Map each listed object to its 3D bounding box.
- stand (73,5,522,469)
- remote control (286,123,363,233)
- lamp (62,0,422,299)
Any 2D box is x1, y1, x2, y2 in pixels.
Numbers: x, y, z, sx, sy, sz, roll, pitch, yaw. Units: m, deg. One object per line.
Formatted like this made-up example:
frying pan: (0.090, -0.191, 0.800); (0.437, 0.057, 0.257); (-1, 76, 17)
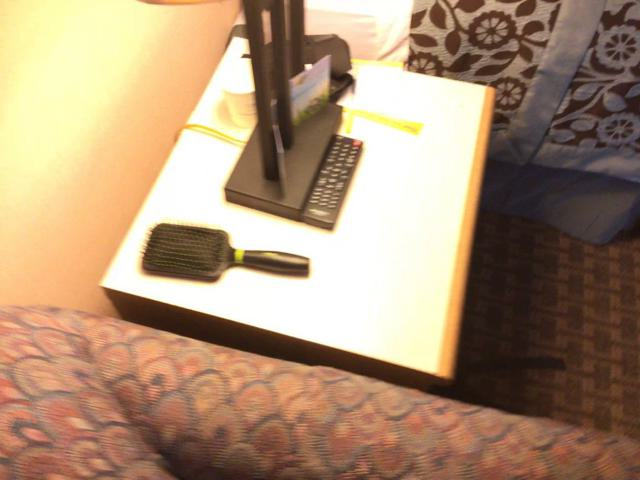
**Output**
stand: (0.020, 0.010, 1.140); (0.540, 0.570, 0.610); (13, 60, 11)
remote control: (0.010, -0.100, 0.900); (0.070, 0.030, 0.180); (13, 60, 11)
lamp: (-0.030, -0.310, 0.630); (0.230, 0.690, 0.450); (13, 60, 11)
